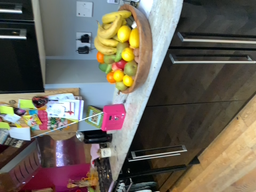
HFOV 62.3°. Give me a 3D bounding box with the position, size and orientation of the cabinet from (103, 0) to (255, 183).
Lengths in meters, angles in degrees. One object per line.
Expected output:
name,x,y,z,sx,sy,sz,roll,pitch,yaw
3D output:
cabinet,0.390,0.020,1.570,1.670,0.890,0.470,107,153,-46
